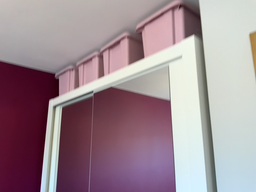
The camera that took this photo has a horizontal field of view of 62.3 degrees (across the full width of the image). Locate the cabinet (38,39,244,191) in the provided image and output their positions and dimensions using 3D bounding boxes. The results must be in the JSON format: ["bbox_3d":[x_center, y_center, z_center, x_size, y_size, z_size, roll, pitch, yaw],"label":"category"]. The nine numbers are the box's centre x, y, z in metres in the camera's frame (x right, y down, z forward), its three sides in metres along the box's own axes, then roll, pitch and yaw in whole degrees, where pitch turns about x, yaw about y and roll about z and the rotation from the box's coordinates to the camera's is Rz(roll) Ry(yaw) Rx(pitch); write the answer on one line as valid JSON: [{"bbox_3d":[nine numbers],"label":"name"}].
[{"bbox_3d":[-0.120,0.980,1.320,0.400,2.160,1.550,12,-19,-39],"label":"cabinet"}]
